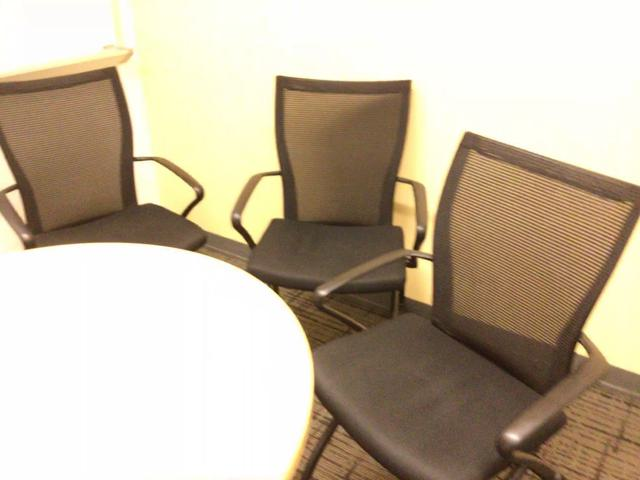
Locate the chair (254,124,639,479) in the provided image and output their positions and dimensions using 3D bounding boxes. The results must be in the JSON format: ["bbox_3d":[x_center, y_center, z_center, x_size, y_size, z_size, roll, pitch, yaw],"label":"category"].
[{"bbox_3d":[0.280,0.280,1.300,0.580,0.870,0.640,-16,31,-31],"label":"chair"}]

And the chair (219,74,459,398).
[{"bbox_3d":[0.070,-0.040,1.890,0.600,0.860,0.580,3,27,5],"label":"chair"}]

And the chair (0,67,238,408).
[{"bbox_3d":[-0.700,-0.060,1.920,0.570,0.860,0.590,-22,34,-37],"label":"chair"}]
